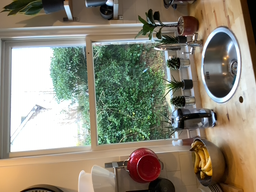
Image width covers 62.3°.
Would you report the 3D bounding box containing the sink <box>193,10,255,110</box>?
[{"bbox_3d":[0.610,-0.180,1.290,0.460,0.190,0.460,115,151,-77],"label":"sink"}]
